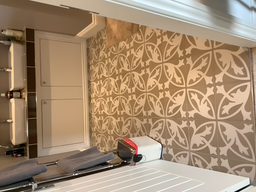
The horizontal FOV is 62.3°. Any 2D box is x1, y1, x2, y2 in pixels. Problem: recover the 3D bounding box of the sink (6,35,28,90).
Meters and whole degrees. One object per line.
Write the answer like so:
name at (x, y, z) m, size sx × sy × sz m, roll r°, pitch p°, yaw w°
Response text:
sink at (-1.380, -0.390, 2.620) m, size 0.420 × 0.170 × 0.590 m, roll -6°, pitch 86°, yaw 54°
